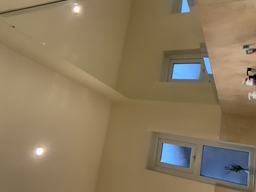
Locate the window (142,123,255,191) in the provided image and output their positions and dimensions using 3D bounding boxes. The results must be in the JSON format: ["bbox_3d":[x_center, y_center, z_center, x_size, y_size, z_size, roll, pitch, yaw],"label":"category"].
[{"bbox_3d":[0.770,0.620,2.170,0.210,1.180,0.520,31,-114,-60],"label":"window"}]
